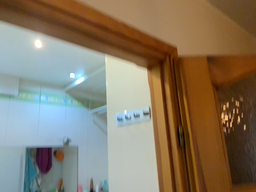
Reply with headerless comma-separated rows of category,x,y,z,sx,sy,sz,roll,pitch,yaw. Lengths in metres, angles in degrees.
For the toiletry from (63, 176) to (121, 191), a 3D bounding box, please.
toiletry,-0.340,0.920,2.110,0.590,0.170,0.120,11,-21,-42
